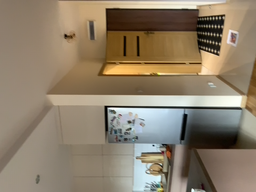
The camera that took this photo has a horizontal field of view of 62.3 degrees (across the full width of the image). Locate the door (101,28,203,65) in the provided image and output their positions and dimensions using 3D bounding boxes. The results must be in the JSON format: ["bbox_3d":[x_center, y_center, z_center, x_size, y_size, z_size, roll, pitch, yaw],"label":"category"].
[{"bbox_3d":[0.510,-1.100,4.660,0.100,2.120,0.910,92,179,-65],"label":"door"}]
